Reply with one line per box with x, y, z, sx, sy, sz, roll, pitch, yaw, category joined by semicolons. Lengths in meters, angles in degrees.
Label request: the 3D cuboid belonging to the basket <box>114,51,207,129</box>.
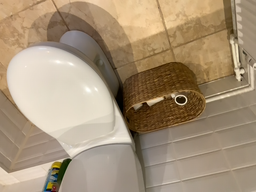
0.160;-0.030;1.140;0.420;0.250;0.190;-18;126;12;basket

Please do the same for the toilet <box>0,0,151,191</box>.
-0.210;0.080;0.890;0.390;0.790;0.680;-17;126;11;toilet
